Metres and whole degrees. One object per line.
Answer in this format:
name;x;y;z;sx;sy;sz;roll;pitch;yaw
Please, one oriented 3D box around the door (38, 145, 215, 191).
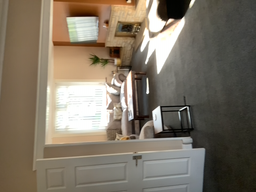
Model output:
door;0.050;1.150;2.580;0.080;2.090;1.030;-136;46;-73
